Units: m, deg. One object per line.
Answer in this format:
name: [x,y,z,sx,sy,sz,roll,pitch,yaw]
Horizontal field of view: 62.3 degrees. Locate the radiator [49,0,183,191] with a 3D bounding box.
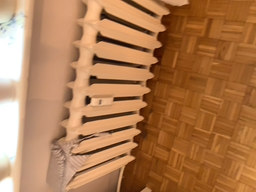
radiator: [-0.040,-0.040,1.270,0.200,0.710,1.170,20,106,32]
